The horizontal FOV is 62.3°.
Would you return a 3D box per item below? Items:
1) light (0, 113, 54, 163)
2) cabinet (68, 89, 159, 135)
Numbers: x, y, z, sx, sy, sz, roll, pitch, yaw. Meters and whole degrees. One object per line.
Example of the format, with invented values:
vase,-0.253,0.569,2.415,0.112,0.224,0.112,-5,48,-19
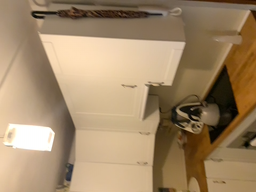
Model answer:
light,-0.610,0.210,1.110,0.180,0.350,0.160,94,-168,-65
cabinet,-0.150,0.190,2.440,0.360,0.950,0.330,94,179,-54
